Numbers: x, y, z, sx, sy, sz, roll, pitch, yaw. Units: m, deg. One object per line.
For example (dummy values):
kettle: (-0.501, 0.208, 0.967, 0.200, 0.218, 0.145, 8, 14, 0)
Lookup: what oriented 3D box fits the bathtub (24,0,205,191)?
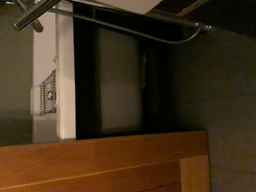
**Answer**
bathtub: (-0.160, 0.000, 1.230, 0.790, 0.740, 1.780, -10, 81, 59)
